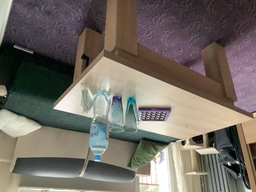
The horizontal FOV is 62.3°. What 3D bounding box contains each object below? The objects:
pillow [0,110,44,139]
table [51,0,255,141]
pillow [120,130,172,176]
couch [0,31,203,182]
[{"bbox_3d":[-1.040,0.270,1.880,0.410,0.090,0.380,-18,148,33],"label":"pillow"},{"bbox_3d":[0.200,-0.130,1.460,1.150,0.580,0.650,18,149,-31],"label":"table"},{"bbox_3d":[0.210,0.710,2.610,0.410,0.250,0.440,20,110,-31],"label":"pillow"},{"bbox_3d":[-0.340,0.360,2.210,2.050,0.830,0.980,18,149,-31],"label":"couch"}]
